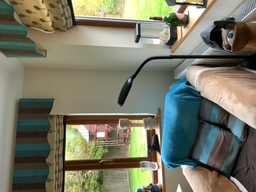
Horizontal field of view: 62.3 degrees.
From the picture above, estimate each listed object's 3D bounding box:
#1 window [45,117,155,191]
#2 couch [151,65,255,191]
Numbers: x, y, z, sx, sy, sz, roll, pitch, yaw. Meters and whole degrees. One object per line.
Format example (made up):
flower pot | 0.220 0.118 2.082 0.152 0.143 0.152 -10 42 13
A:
window | -0.290 1.090 2.340 0.060 1.200 1.700 121 148 -74
couch | 0.800 0.380 1.690 1.140 0.910 1.030 -112 24 -70
